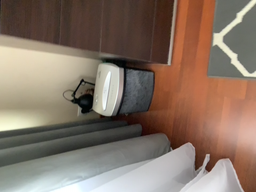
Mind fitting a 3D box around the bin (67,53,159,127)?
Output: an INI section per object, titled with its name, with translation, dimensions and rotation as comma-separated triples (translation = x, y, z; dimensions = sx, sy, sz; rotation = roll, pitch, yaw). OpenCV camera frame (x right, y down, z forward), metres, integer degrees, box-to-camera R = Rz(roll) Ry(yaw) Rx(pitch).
[bin]
translation = -0.110, -0.060, 1.440
dimensions = 0.450, 0.370, 0.380
rotation = 14, 100, 40
